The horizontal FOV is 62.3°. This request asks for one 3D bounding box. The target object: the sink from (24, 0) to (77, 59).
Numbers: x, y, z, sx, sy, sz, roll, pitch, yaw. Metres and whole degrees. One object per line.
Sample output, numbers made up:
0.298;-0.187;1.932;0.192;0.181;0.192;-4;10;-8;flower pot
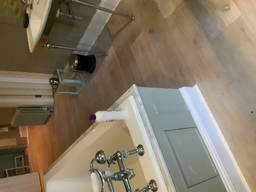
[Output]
-0.730;-0.760;1.900;0.680;0.190;0.500;-45;56;41;sink
